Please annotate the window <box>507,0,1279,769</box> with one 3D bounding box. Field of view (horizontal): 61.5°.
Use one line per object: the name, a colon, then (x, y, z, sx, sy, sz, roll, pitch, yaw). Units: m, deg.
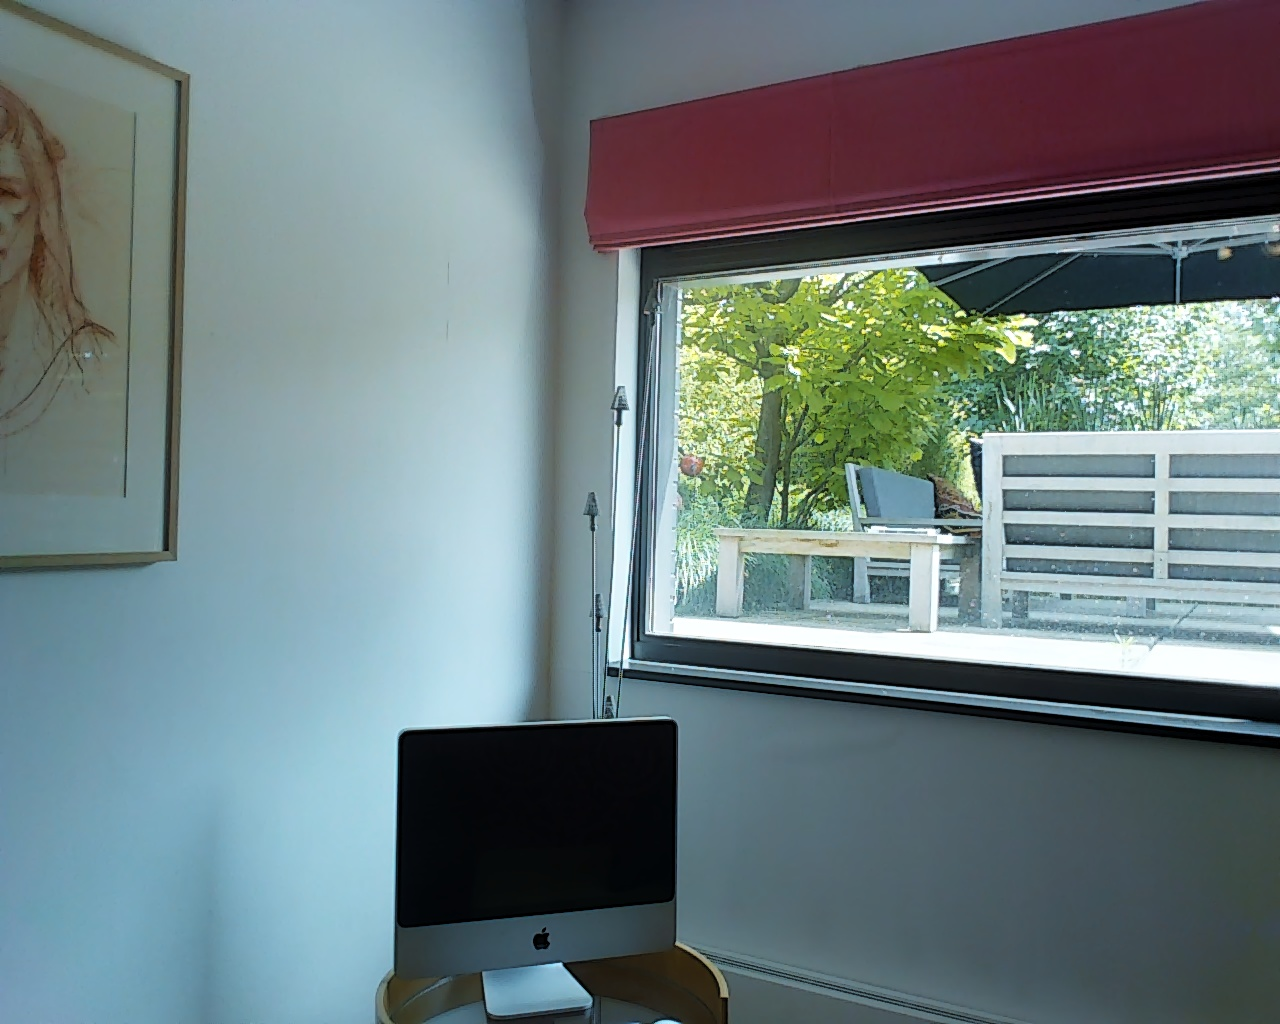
window: (1.050, -0.400, 1.910, 2.930, 1.640, 0.240, 1, -1, 29)
